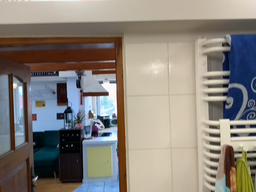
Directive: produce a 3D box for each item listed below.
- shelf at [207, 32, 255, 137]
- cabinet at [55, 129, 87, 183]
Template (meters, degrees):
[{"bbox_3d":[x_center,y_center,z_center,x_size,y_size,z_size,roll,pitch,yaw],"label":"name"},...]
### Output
[{"bbox_3d":[0.580,-0.050,0.920,0.400,0.410,0.160,-2,0,1],"label":"shelf"},{"bbox_3d":[-1.230,1.270,4.650,0.530,1.000,0.610,-2,0,-3],"label":"cabinet"}]
